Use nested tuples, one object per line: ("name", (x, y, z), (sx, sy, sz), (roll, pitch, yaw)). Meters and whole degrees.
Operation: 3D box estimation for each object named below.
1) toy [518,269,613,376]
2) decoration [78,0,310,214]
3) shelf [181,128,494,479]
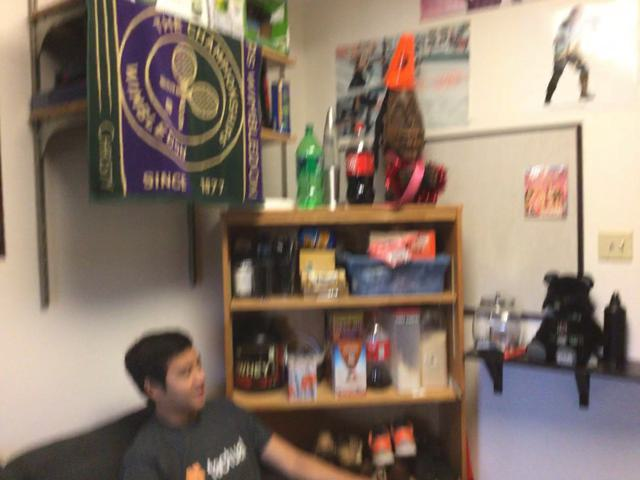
("toy", (0.850, 0.270, 2.000), (0.240, 0.330, 0.240), (-1, -1, 39))
("decoration", (-0.370, -0.540, 1.940), (0.180, 0.860, 0.830), (-1, -1, 39))
("shelf", (0.080, 0.530, 2.260), (0.880, 1.680, 0.850), (-1, -1, 39))
